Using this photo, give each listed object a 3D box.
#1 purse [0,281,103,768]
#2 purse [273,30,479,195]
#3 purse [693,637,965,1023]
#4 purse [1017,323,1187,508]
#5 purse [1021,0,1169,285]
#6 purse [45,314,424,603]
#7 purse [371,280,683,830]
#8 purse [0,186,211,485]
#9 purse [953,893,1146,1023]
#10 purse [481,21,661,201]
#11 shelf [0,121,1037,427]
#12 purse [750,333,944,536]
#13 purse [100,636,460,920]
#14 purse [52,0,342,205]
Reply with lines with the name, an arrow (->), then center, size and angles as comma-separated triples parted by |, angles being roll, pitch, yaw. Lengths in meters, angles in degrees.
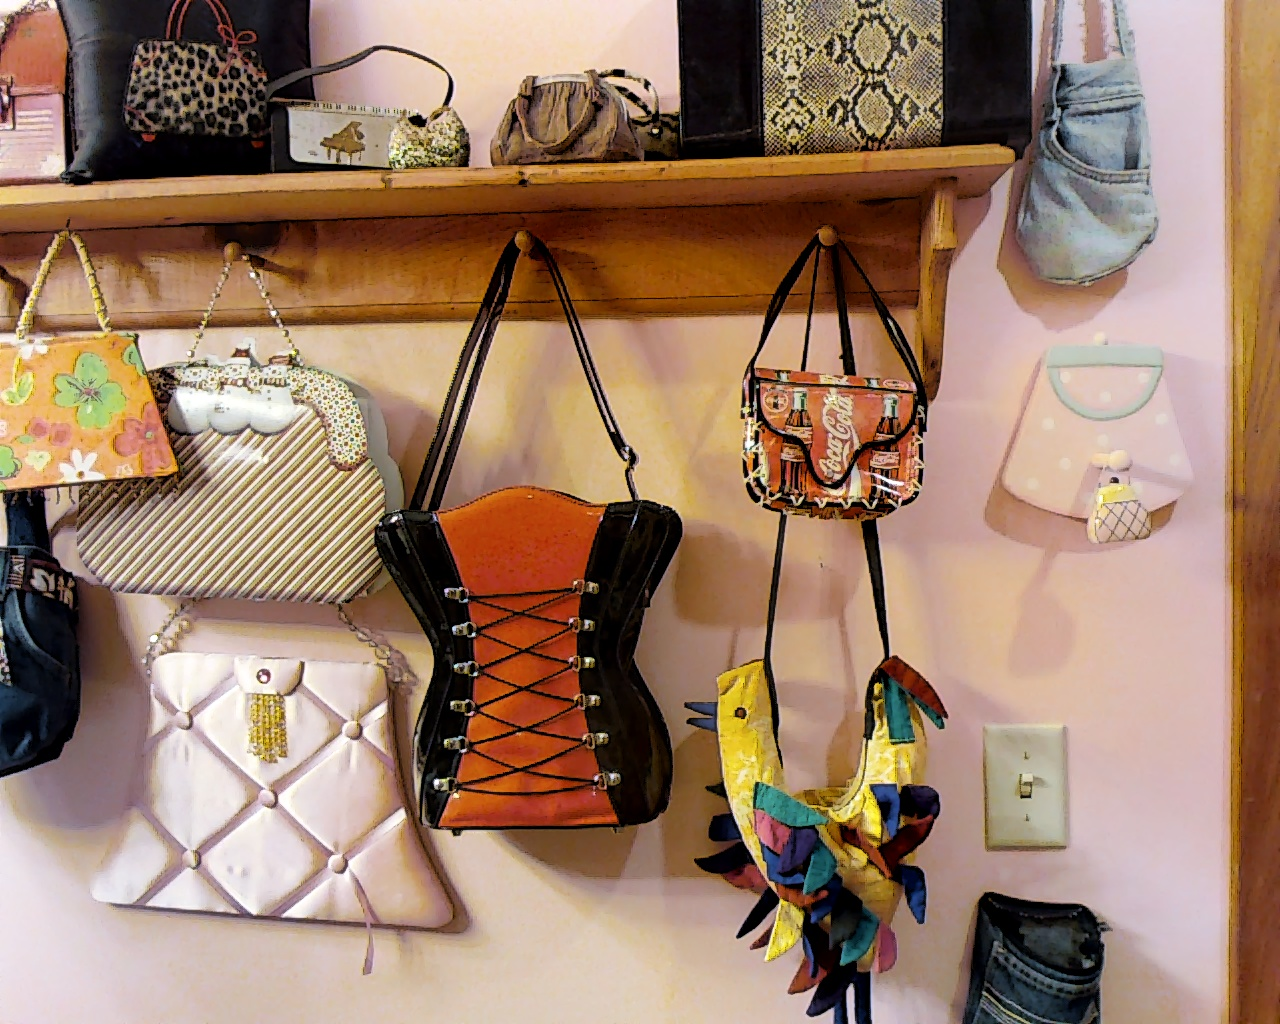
purse -> -0.680, 0.010, 1.070 | 0.190, 0.450, 0.170 | -1, 2, 5
purse -> -0.250, -0.380, 1.040 | 0.160, 0.110, 0.120 | -1, 2, 5
purse -> 0.170, 0.380, 1.000 | 0.230, 0.510, 0.130 | -1, 2, 5
purse -> 0.440, -0.090, 1.030 | 0.140, 0.170, 0.050 | -1, 2, 4
purse -> 0.420, -0.370, 1.000 | 0.110, 0.300, 0.070 | -1, 2, 5
purse -> -0.400, -0.050, 1.080 | 0.340, 0.270, 0.100 | -1, 2, 5
purse -> -0.100, 0.040, 1.030 | 0.270, 0.490, 0.120 | -1, 2, 5
purse -> -0.550, -0.170, 1.060 | 0.170, 0.250, 0.080 | 12, -4, 4
purse -> 0.380, 0.470, 1.010 | 0.150, 0.190, 0.090 | -1, 2, 5
purse -> -0.060, -0.370, 1.010 | 0.150, 0.120, 0.120 | -1, 2, 5
shelf -> -0.230, -0.210, 1.040 | 1.150, 0.230, 0.150 | -1, 2, 5
purse -> 0.190, -0.070, 1.010 | 0.170, 0.180, 0.080 | -1, 2, 5
purse -> -0.370, 0.270, 1.110 | 0.360, 0.280, 0.040 | -1, 2, 5
purse -> -0.420, -0.440, 1.040 | 0.210, 0.240, 0.150 | -1, 2, 5
